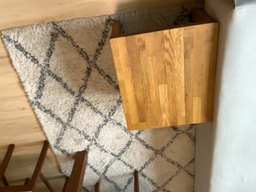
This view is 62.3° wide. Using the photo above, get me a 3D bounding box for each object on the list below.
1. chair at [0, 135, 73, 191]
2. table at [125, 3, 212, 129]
[{"bbox_3d":[-0.790,0.840,1.500,0.470,0.930,0.570,-8,123,4],"label":"chair"},{"bbox_3d":[0.200,-0.170,1.170,0.350,0.390,0.530,-8,123,4],"label":"table"}]
